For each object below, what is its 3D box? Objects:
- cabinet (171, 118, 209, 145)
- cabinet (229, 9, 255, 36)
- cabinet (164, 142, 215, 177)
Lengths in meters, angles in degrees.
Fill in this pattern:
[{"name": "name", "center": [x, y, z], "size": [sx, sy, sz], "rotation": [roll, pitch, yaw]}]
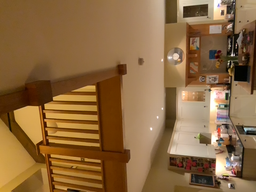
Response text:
[{"name": "cabinet", "center": [1.740, 0.980, 6.010], "size": [0.880, 0.960, 0.350], "rotation": [-40, -51, -68]}, {"name": "cabinet", "center": [3.110, -1.870, 5.450], "size": [0.590, 0.820, 0.580], "rotation": [-39, -51, -69]}, {"name": "cabinet", "center": [1.320, 1.340, 4.590], "size": [0.640, 0.980, 0.350], "rotation": [-40, -51, -68]}]
